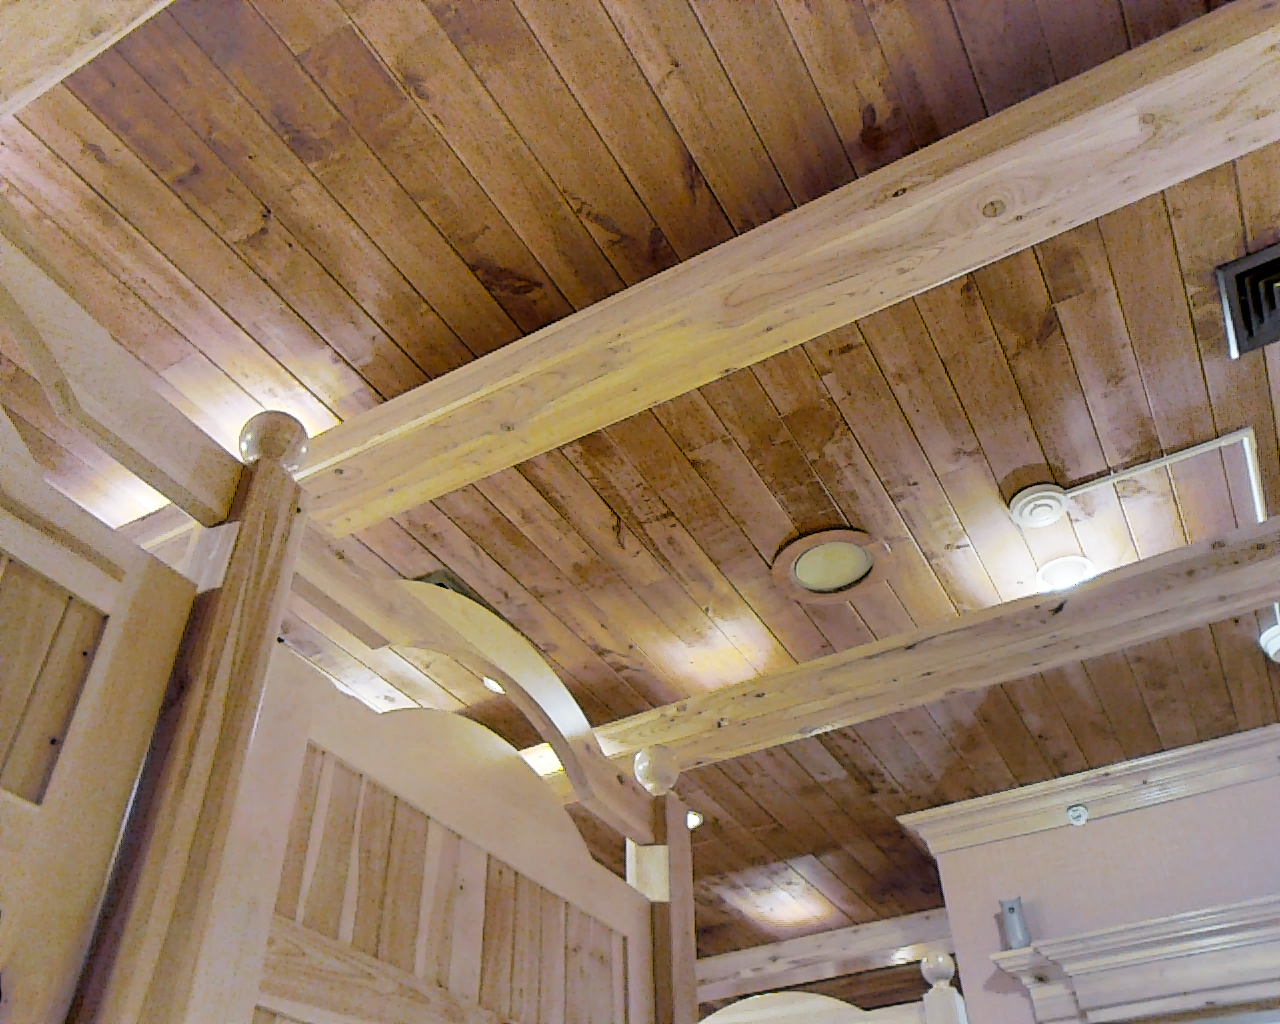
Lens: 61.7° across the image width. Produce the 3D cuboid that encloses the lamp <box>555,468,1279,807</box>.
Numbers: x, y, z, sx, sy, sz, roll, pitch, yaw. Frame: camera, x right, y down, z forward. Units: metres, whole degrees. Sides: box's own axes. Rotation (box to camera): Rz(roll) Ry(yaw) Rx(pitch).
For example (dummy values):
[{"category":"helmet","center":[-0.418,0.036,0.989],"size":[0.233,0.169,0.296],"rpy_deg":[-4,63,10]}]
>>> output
[{"category":"lamp","center":[1.069,0.300,2.970],"size":[2.949,0.270,0.250],"rpy_deg":[-21,-45,22]}]

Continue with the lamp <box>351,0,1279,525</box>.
[{"category":"lamp","center":[0.430,-0.520,1.990],"size":[2.239,0.260,0.260],"rpy_deg":[-21,-45,22]}]
